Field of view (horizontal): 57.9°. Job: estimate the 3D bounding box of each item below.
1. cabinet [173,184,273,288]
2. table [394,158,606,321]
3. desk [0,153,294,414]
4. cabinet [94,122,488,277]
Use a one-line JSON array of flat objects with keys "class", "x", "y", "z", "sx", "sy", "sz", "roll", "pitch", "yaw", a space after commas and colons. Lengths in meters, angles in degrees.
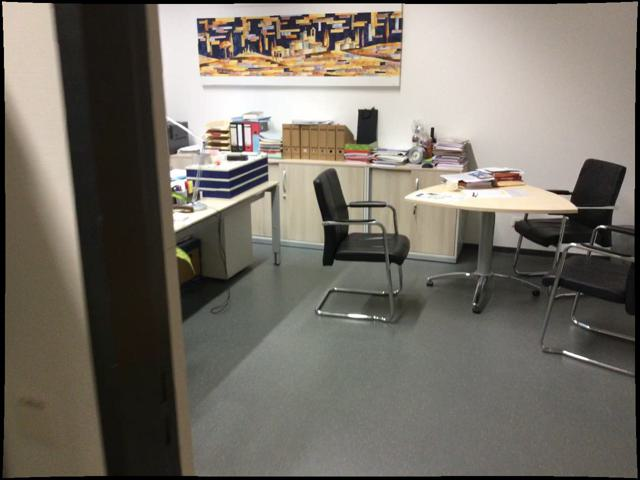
[{"class": "cabinet", "x": -0.719, "y": -0.060, "z": 4.460, "sx": 0.420, "sy": 0.611, "sz": 0.750, "roll": 5, "pitch": 15, "yaw": 19}, {"class": "table", "x": 1.249, "y": -0.090, "z": 4.080, "sx": 1.199, "sy": 0.821, "sz": 1.110, "roll": 5, "pitch": 15, "yaw": 20}, {"class": "desk", "x": -1.169, "y": 0.030, "z": 3.850, "sx": 1.159, "sy": 0.951, "sz": 2.360, "roll": 5, "pitch": 15, "yaw": 19}, {"class": "cabinet", "x": -0.330, "y": -0.470, "z": 5.220, "sx": 3.427, "sy": 1.081, "sz": 0.770, "roll": 5, "pitch": 15, "yaw": 20}]
